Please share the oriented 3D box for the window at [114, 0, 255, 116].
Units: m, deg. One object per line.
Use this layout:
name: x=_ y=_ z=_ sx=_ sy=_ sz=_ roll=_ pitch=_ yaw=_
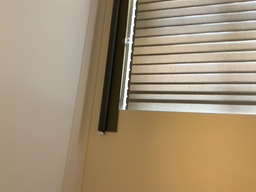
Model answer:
window: x=0.600 y=-0.460 z=1.470 sx=0.020 sy=1.330 sz=1.180 roll=44 pitch=-130 yaw=-69
